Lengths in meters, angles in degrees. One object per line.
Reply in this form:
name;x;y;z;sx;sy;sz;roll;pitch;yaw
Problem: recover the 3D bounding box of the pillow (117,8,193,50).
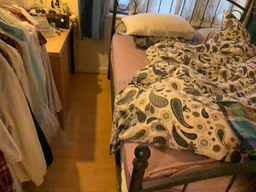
pillow;0.250;-0.700;2.200;0.650;0.270;0.430;-1;33;-14
